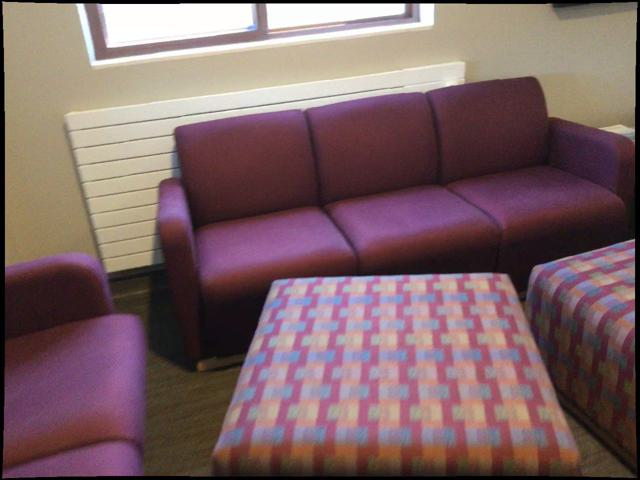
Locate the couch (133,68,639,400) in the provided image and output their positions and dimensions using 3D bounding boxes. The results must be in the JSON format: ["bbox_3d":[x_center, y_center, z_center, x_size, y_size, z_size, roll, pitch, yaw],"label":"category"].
[{"bbox_3d":[0.309,-0.140,2.450,1.935,0.822,0.850,-11,25,-11],"label":"couch"}]
